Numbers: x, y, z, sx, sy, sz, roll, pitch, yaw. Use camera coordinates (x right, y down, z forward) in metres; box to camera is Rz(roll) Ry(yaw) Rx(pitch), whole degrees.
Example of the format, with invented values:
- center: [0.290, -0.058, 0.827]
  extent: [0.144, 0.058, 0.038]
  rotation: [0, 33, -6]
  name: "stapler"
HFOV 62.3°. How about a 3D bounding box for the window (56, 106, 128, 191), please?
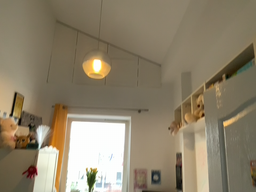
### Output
- center: [-0.580, 1.010, 3.610]
  extent: [1.100, 1.620, 0.110]
  rotation: [3, -15, -4]
  name: "window"
